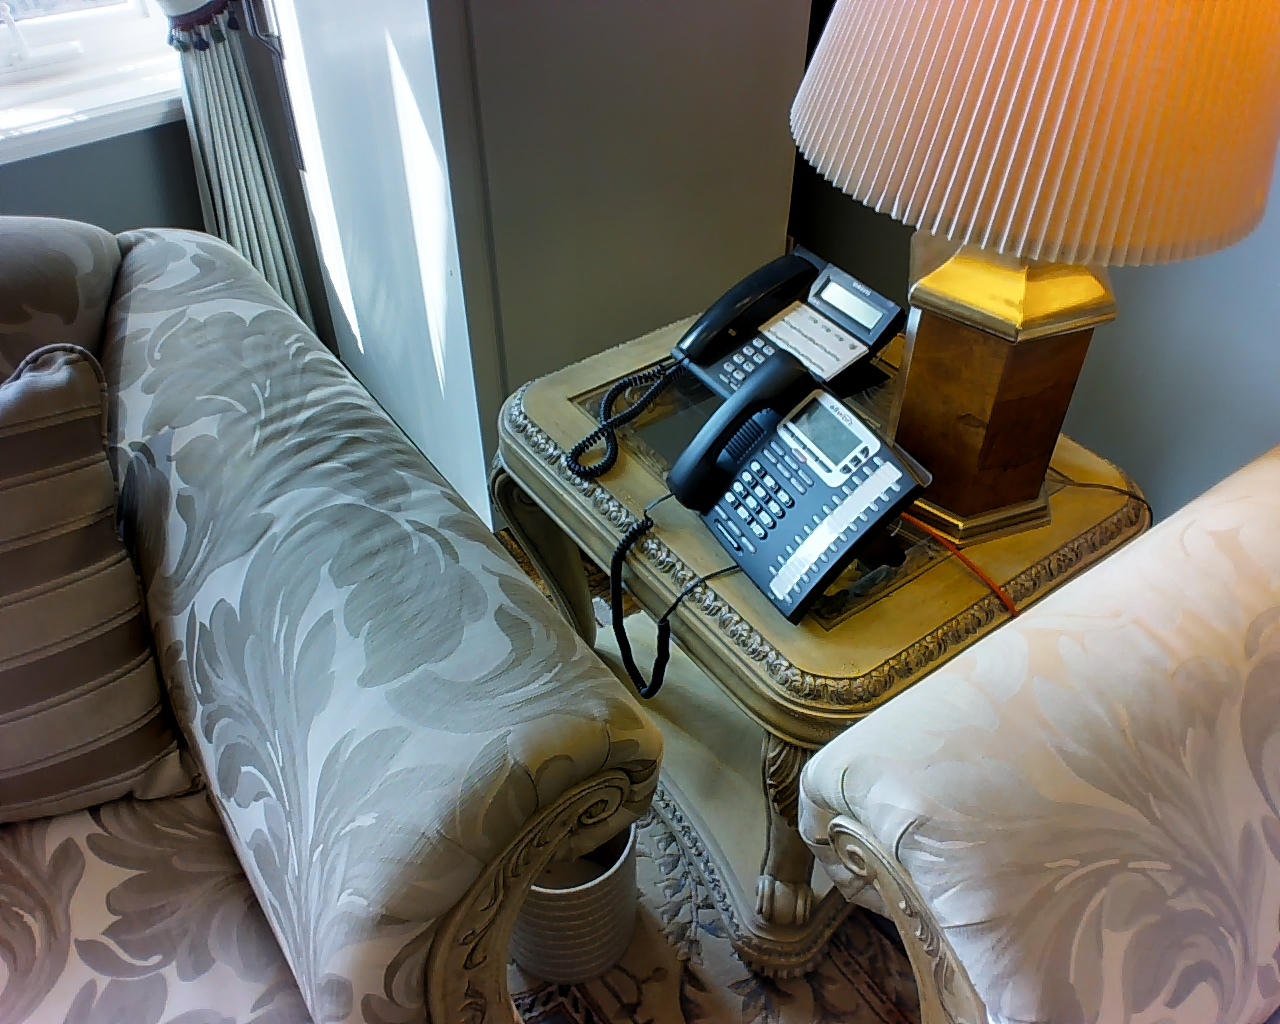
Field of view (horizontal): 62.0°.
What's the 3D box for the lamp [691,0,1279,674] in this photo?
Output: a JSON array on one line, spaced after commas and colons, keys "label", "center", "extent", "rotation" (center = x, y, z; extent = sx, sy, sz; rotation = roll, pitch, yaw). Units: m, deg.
[{"label": "lamp", "center": [0.350, -0.310, 1.000], "extent": [0.400, 0.740, 0.430], "rotation": [-24, 48, -24]}]
